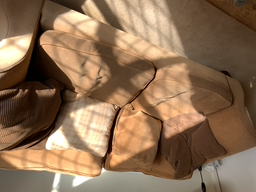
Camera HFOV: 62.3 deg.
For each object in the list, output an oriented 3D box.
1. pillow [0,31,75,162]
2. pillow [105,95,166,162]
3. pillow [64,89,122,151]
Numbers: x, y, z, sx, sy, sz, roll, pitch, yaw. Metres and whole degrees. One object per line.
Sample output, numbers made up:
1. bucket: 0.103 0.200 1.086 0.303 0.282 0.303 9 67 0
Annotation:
1. pillow: -0.580 0.060 1.260 0.290 0.460 0.680 15 145 -25
2. pillow: 0.050 0.270 1.690 0.390 0.420 0.230 14 145 -24
3. pillow: -0.260 0.170 1.520 0.340 0.360 0.180 13 126 -24
